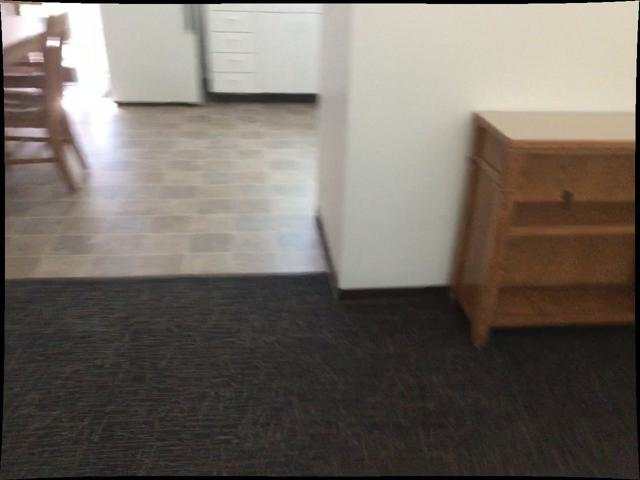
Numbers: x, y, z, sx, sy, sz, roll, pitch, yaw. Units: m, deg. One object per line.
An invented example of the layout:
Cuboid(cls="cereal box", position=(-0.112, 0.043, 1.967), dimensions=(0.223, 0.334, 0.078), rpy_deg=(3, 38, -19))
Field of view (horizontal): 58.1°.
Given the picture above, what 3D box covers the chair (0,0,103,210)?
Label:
Cuboid(cls="chair", position=(-1.518, -0.671, 2.860), dimensions=(0.639, 0.901, 0.510), rpy_deg=(-3, 30, -9))
